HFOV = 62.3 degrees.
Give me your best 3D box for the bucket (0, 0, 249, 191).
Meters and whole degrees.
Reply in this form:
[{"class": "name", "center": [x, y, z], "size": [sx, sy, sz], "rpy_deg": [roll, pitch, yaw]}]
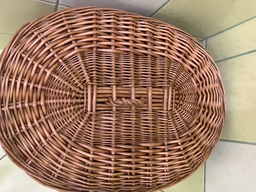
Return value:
[{"class": "bucket", "center": [-0.080, 0.020, 0.660], "size": [0.480, 0.620, 0.370], "rpy_deg": [4, 84, -24]}]
